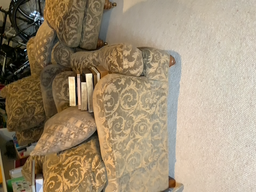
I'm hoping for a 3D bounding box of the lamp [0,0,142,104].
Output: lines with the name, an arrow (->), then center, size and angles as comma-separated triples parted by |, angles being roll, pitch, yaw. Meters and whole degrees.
lamp -> -0.790, -0.450, 1.570 | 0.730, 1.500, 0.700 | 49, 131, 42
